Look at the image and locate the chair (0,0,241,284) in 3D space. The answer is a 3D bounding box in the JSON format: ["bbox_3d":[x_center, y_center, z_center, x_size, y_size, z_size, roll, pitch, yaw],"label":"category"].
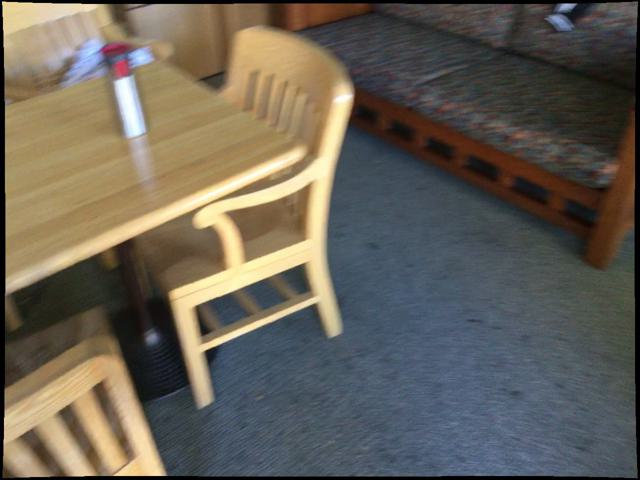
[{"bbox_3d":[-0.829,-0.450,2.160,0.710,0.820,0.640,22,46,27],"label":"chair"}]

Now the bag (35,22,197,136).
[{"bbox_3d":[-0.759,-0.621,2.170,0.420,0.190,0.390,-30,47,-28],"label":"bag"}]

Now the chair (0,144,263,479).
[{"bbox_3d":[-0.559,0.400,1.120,0.600,0.800,0.700,-30,47,-28],"label":"chair"}]
